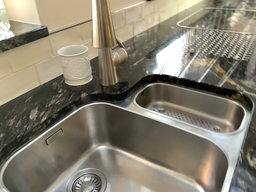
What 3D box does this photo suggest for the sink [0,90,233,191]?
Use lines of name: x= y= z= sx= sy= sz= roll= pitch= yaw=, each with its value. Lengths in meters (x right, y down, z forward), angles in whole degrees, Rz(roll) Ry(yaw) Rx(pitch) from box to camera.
sink: x=-0.030 y=0.210 z=0.550 sx=0.450 sy=0.200 sz=0.360 roll=19 pitch=38 yaw=29

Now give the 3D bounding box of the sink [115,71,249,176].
sink: x=0.170 y=0.060 z=0.710 sx=0.360 sy=0.140 sz=0.220 roll=19 pitch=38 yaw=29
